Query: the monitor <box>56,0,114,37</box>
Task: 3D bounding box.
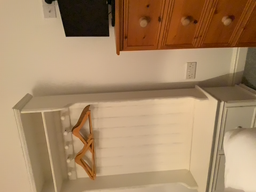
[{"bbox_3d":[-0.270,-0.590,1.340,0.500,0.340,0.050,90,177,-56],"label":"monitor"}]
